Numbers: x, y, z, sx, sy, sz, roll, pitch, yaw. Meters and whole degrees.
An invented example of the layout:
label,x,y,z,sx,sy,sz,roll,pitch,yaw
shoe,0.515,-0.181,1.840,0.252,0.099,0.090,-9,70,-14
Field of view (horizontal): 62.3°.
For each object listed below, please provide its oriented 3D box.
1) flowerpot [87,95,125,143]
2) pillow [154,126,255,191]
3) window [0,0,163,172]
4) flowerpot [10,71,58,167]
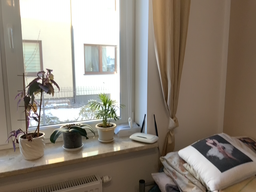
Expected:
label,x,y,z,sx,sy,sz,roll,pitch,yaw
flowerpot,-0.160,0.150,1.500,0.210,0.280,0.190,-4,10,-26
pillow,0.720,0.550,1.180,0.780,0.450,0.910,-4,9,-24
window,-0.600,-0.370,1.170,1.570,1.420,0.440,-4,9,-23
flowerpot,-0.550,0.110,1.240,0.230,0.490,0.260,0,8,-25
